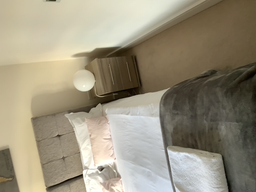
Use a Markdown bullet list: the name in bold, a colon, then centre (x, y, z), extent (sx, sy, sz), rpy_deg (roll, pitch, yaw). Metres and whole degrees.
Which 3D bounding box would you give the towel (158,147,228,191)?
- **towel**: centre (0.370, 0.490, 1.250), extent (0.440, 0.060, 0.320), rpy_deg (-13, 90, 60)
